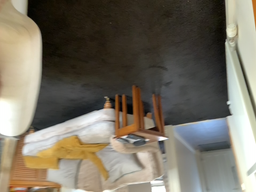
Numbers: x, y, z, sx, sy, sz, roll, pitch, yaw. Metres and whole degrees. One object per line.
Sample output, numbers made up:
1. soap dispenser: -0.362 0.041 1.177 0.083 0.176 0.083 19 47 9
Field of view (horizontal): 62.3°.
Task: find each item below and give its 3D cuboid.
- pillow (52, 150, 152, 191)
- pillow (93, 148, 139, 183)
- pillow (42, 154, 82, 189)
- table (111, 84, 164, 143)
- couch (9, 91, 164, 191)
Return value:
1. pillow: -0.460 1.060 3.030 1.620 0.470 0.280 -13 170 35
2. pillow: -0.150 0.830 2.590 0.500 0.340 0.190 -8 -179 32
3. pillow: -0.960 1.100 3.100 0.470 0.390 0.200 -9 179 9
4. table: 0.090 0.200 2.240 0.380 0.480 0.350 18 148 -40
5. couch: -0.590 0.780 2.900 1.750 0.940 1.060 -21 151 33
